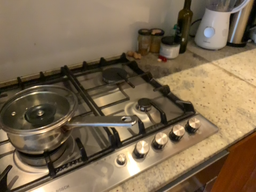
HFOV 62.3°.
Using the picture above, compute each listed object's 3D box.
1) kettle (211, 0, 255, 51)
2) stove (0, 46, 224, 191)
[{"bbox_3d":[0.570,-0.410,1.100,0.160,0.260,0.230,6,37,5],"label":"kettle"},{"bbox_3d":[-0.130,0.020,0.670,0.590,0.040,0.570,-19,42,-26],"label":"stove"}]
